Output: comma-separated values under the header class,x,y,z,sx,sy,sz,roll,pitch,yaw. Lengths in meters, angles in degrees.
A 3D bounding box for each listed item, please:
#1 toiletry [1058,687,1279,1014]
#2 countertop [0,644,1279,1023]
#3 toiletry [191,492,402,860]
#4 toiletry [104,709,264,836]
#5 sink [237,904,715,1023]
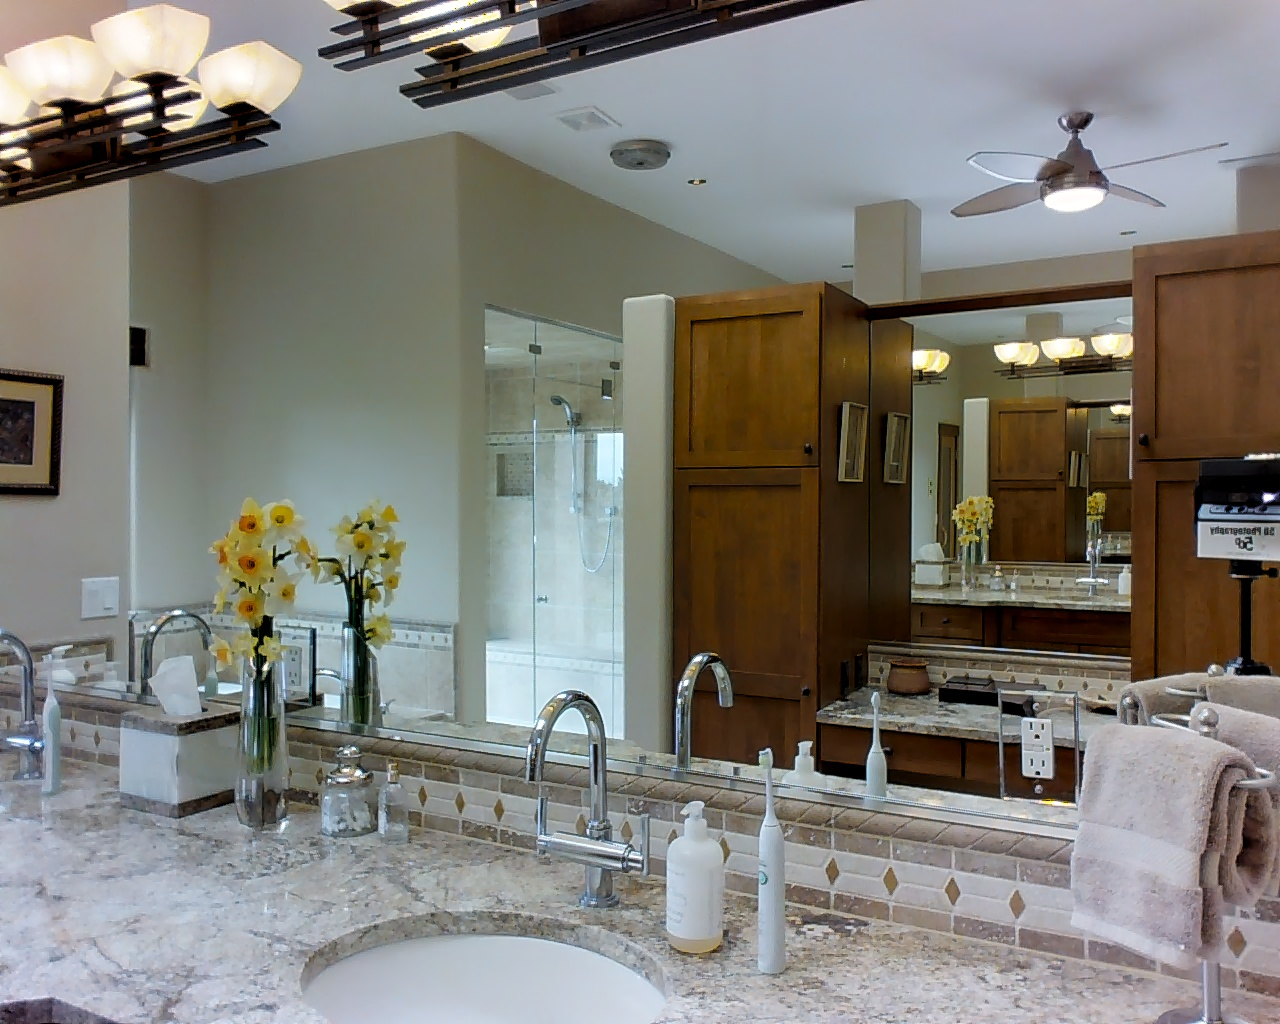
class,x,y,z,sx,sy,sz,roll,pitch,yaw
toiletry,0.540,0.310,1.030,0.210,0.250,0.150,0,0,-16
countertop,-0.720,0.450,1.510,2.979,0.340,0.740,0,0,29
toiletry,-0.550,0.240,1.720,0.280,0.540,0.180,0,0,29
toiletry,-0.780,0.440,1.840,0.180,0.160,0.180,0,0,29
sink,-0.170,0.610,1.190,0.400,0.170,0.340,0,0,29
